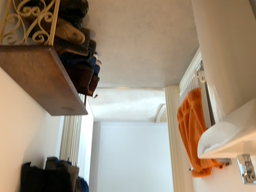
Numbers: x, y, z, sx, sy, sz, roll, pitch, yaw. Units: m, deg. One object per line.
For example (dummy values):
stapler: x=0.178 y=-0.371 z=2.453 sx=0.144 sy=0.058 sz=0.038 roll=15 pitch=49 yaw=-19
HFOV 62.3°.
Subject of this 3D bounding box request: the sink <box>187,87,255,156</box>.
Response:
sink: x=0.400 y=0.120 z=0.750 sx=0.230 sy=0.110 sz=0.470 roll=0 pitch=156 yaw=-2
